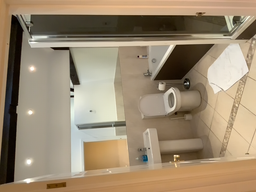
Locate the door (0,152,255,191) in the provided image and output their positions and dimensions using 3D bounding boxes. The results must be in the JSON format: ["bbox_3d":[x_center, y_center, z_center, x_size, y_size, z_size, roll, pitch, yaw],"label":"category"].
[{"bbox_3d":[0.410,0.430,1.340,0.850,2.050,0.050,118,149,-71],"label":"door"}]

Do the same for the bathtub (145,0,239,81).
[{"bbox_3d":[0.750,-0.880,3.110,1.650,0.580,0.710,114,152,-69],"label":"bathtub"}]
